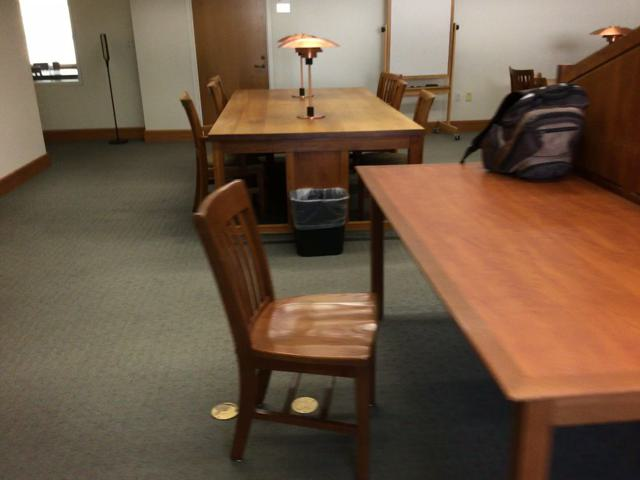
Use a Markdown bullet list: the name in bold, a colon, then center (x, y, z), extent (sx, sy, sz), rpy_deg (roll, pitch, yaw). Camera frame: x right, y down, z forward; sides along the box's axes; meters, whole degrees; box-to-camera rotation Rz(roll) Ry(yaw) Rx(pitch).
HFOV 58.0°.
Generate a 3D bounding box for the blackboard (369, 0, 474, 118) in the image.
- **blackboard**: center (1.150, -2.220, 6.770), extent (1.010, 1.370, 0.650), rpy_deg (-6, 24, -8)

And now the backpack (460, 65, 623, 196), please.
- **backpack**: center (0.880, -0.470, 2.400), extent (0.450, 0.420, 0.450), rpy_deg (-4, 24, -3)

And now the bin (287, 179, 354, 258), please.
- **bin**: center (0.000, -0.140, 3.640), extent (0.390, 0.380, 0.320), rpy_deg (-3, 24, -3)
